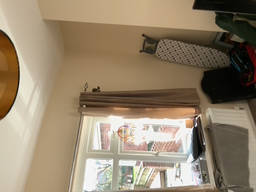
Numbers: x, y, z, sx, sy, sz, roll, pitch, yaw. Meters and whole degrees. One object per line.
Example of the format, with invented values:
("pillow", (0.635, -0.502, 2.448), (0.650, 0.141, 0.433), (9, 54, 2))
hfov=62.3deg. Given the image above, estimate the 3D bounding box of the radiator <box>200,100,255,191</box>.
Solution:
("radiator", (1.160, 0.530, 2.200), (0.150, 0.600, 1.030), (101, 171, -55))
